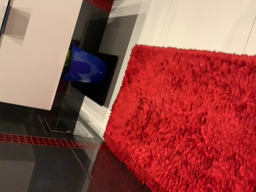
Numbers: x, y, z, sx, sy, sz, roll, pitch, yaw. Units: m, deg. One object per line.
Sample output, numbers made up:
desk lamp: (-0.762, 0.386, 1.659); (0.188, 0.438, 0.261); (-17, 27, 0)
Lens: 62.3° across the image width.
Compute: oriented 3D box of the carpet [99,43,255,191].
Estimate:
carpet: (0.140, 0.110, 0.750); (0.730, 0.030, 0.570); (26, 100, 55)
